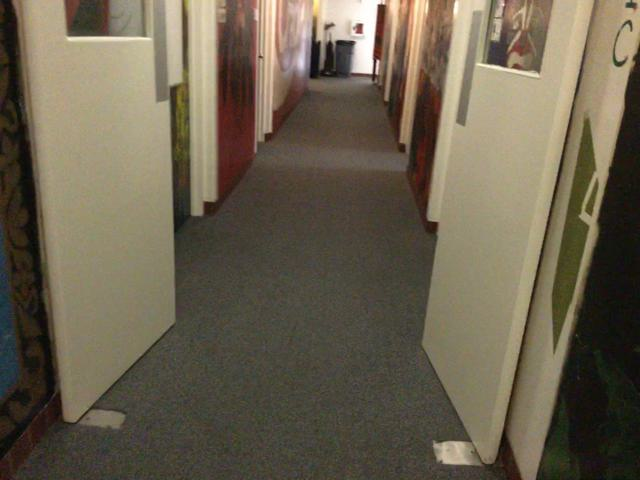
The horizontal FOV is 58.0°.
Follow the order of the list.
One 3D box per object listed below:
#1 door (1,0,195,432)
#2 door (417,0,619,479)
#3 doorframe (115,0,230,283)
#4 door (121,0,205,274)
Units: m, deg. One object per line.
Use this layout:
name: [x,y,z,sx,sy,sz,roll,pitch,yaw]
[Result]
door: [-0.690,-0.510,1.960,0.210,2.150,0.840,3,21,3]
door: [0.590,-0.380,1.900,0.270,2.140,0.850,3,21,3]
doorframe: [-0.790,-1.000,3.310,0.260,2.210,1.110,3,21,3]
door: [-0.880,-0.940,3.340,0.110,2.080,0.910,3,21,3]
